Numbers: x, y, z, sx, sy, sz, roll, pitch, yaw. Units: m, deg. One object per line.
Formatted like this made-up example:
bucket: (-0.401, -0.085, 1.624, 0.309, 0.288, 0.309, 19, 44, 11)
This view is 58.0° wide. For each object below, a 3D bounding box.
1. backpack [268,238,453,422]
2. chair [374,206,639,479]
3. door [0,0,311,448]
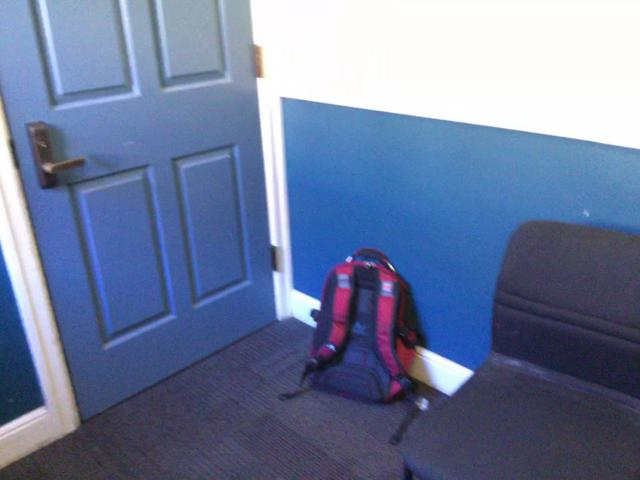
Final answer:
backpack: (0.140, 0.310, 2.130, 0.500, 0.500, 0.270, 17, 3, 37)
chair: (0.520, 0.420, 1.310, 0.510, 0.800, 0.590, 12, 26, 38)
door: (-0.530, -0.170, 2.030, 1.070, 1.480, 0.130, -21, 26, -38)
